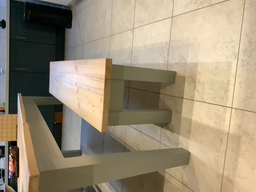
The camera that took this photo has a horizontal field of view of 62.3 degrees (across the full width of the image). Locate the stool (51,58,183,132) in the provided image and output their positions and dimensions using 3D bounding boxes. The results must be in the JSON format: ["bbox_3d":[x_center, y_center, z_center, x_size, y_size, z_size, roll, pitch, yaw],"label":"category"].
[{"bbox_3d":[-0.260,-0.090,1.760,1.480,0.470,0.350,14,102,60],"label":"stool"}]

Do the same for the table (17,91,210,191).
[{"bbox_3d":[-0.480,0.490,1.830,2.130,0.790,0.820,15,103,60],"label":"table"}]

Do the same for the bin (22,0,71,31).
[{"bbox_3d":[-1.270,-1.250,3.320,0.280,0.680,0.290,9,98,60],"label":"bin"}]
